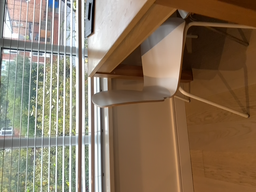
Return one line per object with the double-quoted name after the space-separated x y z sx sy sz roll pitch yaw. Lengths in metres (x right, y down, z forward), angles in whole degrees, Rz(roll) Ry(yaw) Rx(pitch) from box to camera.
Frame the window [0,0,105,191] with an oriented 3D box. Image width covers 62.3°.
-0.900 -0.050 1.400 0.150 1.460 2.030 153 117 -64 "window"
